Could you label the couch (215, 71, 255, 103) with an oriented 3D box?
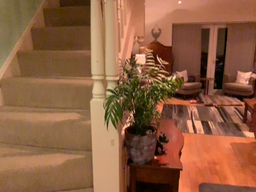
[{"bbox_3d":[3.020,-0.290,5.950,0.740,0.720,0.740,-12,18,-38],"label":"couch"}]
